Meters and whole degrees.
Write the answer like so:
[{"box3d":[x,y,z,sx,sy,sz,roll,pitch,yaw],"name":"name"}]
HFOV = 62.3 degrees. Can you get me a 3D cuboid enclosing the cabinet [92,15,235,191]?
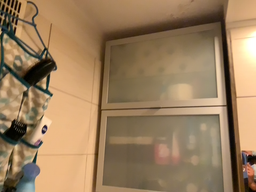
[{"box3d":[0.170,0.060,1.090,0.610,0.820,0.220,-3,-14,20],"name":"cabinet"}]
